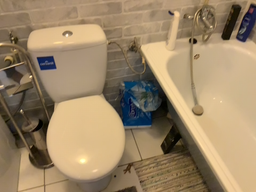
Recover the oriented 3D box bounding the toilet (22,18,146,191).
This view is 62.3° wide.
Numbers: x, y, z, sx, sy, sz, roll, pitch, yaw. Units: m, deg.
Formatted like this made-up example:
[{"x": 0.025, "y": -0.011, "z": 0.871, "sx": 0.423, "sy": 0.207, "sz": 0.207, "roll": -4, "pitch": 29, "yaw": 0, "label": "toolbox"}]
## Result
[{"x": -0.220, "y": 0.120, "z": 1.100, "sx": 0.360, "sy": 0.750, "sz": 0.650, "roll": -11, "pitch": 47, "yaw": -13, "label": "toilet"}]
